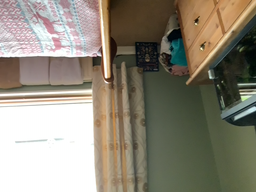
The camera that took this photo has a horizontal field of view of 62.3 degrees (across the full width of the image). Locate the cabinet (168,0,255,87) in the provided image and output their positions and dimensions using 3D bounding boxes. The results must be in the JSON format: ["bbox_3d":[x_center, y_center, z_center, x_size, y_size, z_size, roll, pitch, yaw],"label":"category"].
[{"bbox_3d":[0.700,-0.720,1.370,0.460,0.920,1.170,-3,160,-6],"label":"cabinet"}]
